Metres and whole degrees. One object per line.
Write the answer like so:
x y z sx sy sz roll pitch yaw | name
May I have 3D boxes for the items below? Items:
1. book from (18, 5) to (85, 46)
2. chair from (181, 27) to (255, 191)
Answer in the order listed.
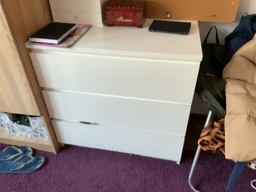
-0.360 -0.350 1.040 0.230 0.120 0.200 4 41 6 | book
0.700 0.170 1.130 0.540 0.750 0.770 18 42 23 | chair
